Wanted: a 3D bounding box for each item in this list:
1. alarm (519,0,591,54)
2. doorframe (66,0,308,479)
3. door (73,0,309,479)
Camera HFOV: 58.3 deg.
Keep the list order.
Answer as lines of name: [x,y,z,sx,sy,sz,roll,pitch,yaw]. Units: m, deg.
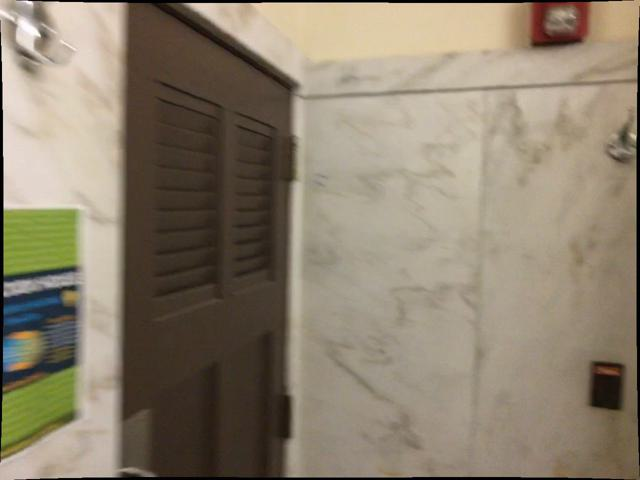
alarm: [0.589,-0.591,1.450,0.150,0.190,0.150,1,2,15]
doorframe: [-0.190,0.480,1.220,0.070,1.812,0.890,1,2,16]
door: [-0.190,0.510,1.220,0.090,1.892,0.840,1,2,15]
